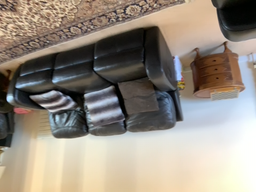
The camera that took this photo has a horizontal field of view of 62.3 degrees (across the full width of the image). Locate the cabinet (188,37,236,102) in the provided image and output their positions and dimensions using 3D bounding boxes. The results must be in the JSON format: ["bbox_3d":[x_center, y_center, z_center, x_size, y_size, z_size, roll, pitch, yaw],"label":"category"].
[{"bbox_3d":[1.060,-0.300,2.690,0.460,0.600,0.510,-7,161,23],"label":"cabinet"}]

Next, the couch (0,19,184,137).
[{"bbox_3d":[-0.460,-0.040,2.810,2.110,0.950,0.990,-8,160,24],"label":"couch"}]
